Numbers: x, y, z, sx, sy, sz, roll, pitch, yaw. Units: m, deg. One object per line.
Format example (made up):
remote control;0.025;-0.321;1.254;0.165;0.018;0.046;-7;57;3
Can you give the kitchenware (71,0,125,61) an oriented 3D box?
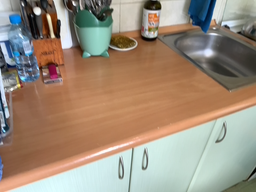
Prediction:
kitchenware;-0.120;-0.280;0.850;0.160;0.210;0.150;-14;42;-21
